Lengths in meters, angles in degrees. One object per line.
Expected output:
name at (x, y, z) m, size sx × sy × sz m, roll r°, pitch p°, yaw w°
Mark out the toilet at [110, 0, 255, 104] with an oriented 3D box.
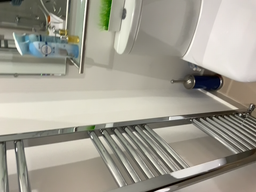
toilet at (0.440, -0.290, 1.000) m, size 0.630 × 0.810 × 0.370 m, roll 40°, pitch 126°, yaw 51°
